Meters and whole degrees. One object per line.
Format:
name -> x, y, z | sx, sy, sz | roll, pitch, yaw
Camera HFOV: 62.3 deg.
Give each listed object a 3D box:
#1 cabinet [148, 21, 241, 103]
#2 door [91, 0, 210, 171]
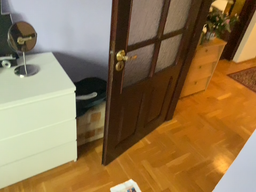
cabinet -> 0.790, -0.440, 2.620 | 0.930, 0.790, 0.360 | -15, 43, -29
door -> 0.190, -0.390, 1.440 | 0.160, 1.990, 0.920 | 35, 44, 30
